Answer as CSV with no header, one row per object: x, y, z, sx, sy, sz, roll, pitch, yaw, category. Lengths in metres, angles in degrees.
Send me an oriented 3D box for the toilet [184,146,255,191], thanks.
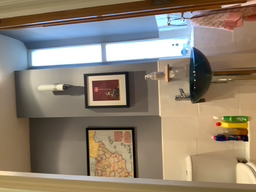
0.910,0.690,1.680,0.680,0.860,0.400,-6,-86,-78,toilet
